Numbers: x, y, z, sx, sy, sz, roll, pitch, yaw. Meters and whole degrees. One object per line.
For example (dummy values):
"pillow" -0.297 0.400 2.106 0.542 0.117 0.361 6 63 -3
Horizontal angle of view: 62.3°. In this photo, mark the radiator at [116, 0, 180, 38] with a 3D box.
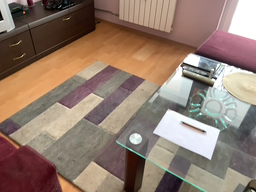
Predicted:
"radiator" 0.240 -1.190 2.820 0.850 0.590 0.140 23 44 21

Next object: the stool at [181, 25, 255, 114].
"stool" 1.120 -0.330 2.230 0.800 0.430 0.740 26 45 24

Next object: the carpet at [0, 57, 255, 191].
"carpet" 0.030 0.260 1.820 1.800 0.090 1.400 23 43 21
